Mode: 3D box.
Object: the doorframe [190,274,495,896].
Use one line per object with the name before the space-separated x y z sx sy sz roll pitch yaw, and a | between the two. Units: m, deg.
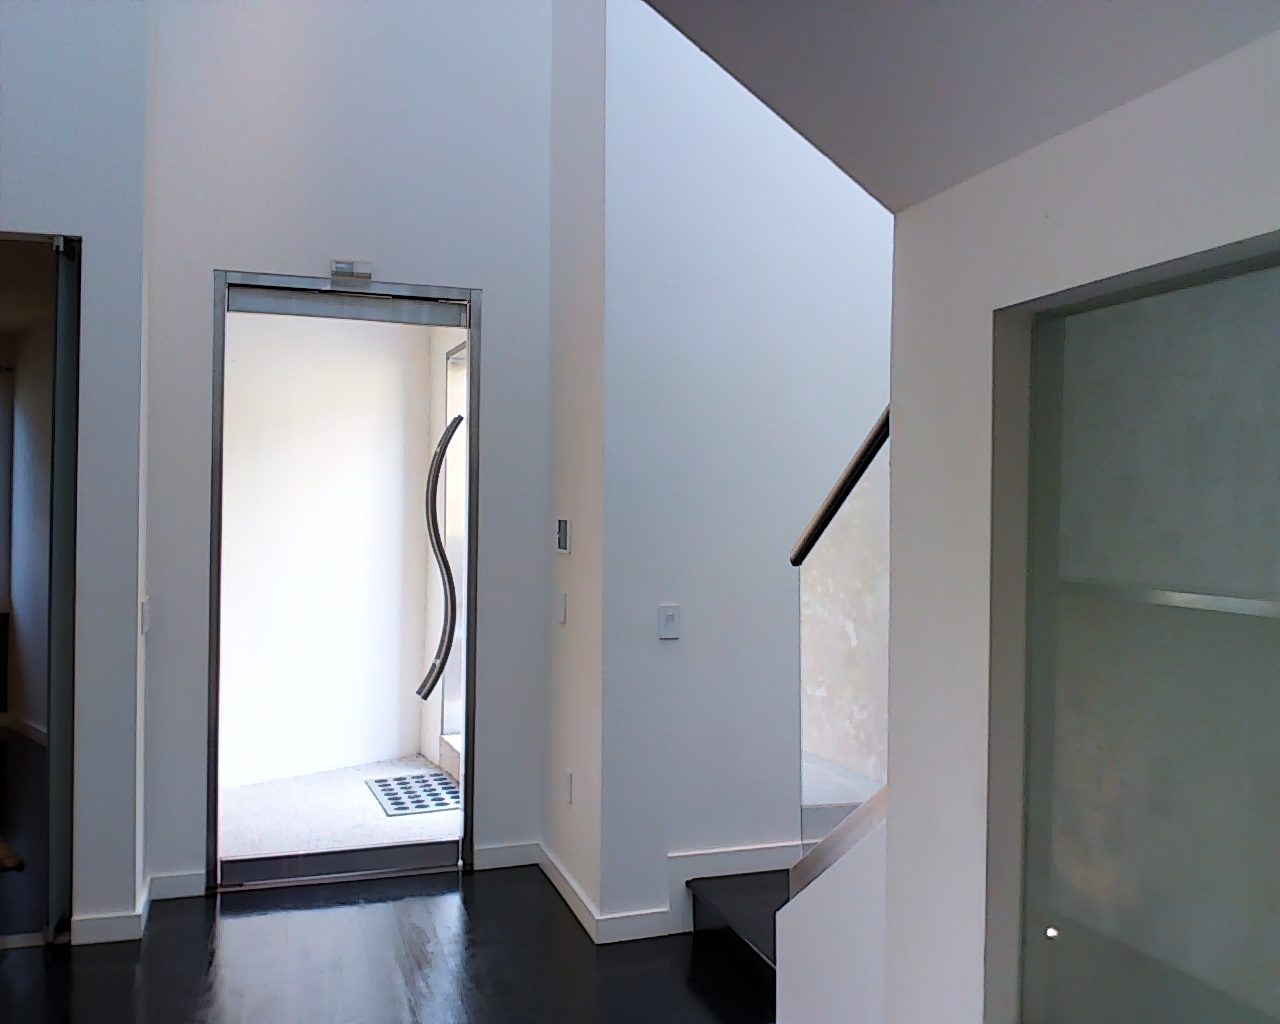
doorframe | -1.230 0.300 4.510 1.130 2.430 0.260 2 0 -19
